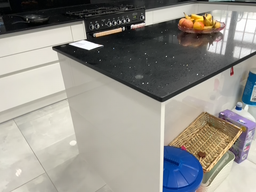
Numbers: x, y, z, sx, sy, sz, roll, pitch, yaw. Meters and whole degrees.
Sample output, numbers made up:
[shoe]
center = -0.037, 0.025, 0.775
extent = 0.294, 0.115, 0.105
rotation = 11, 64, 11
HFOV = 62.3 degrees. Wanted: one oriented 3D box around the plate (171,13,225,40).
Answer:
[plate]
center = 0.490, -0.500, 1.500
extent = 0.270, 0.110, 0.240
rotation = -24, 35, -33
